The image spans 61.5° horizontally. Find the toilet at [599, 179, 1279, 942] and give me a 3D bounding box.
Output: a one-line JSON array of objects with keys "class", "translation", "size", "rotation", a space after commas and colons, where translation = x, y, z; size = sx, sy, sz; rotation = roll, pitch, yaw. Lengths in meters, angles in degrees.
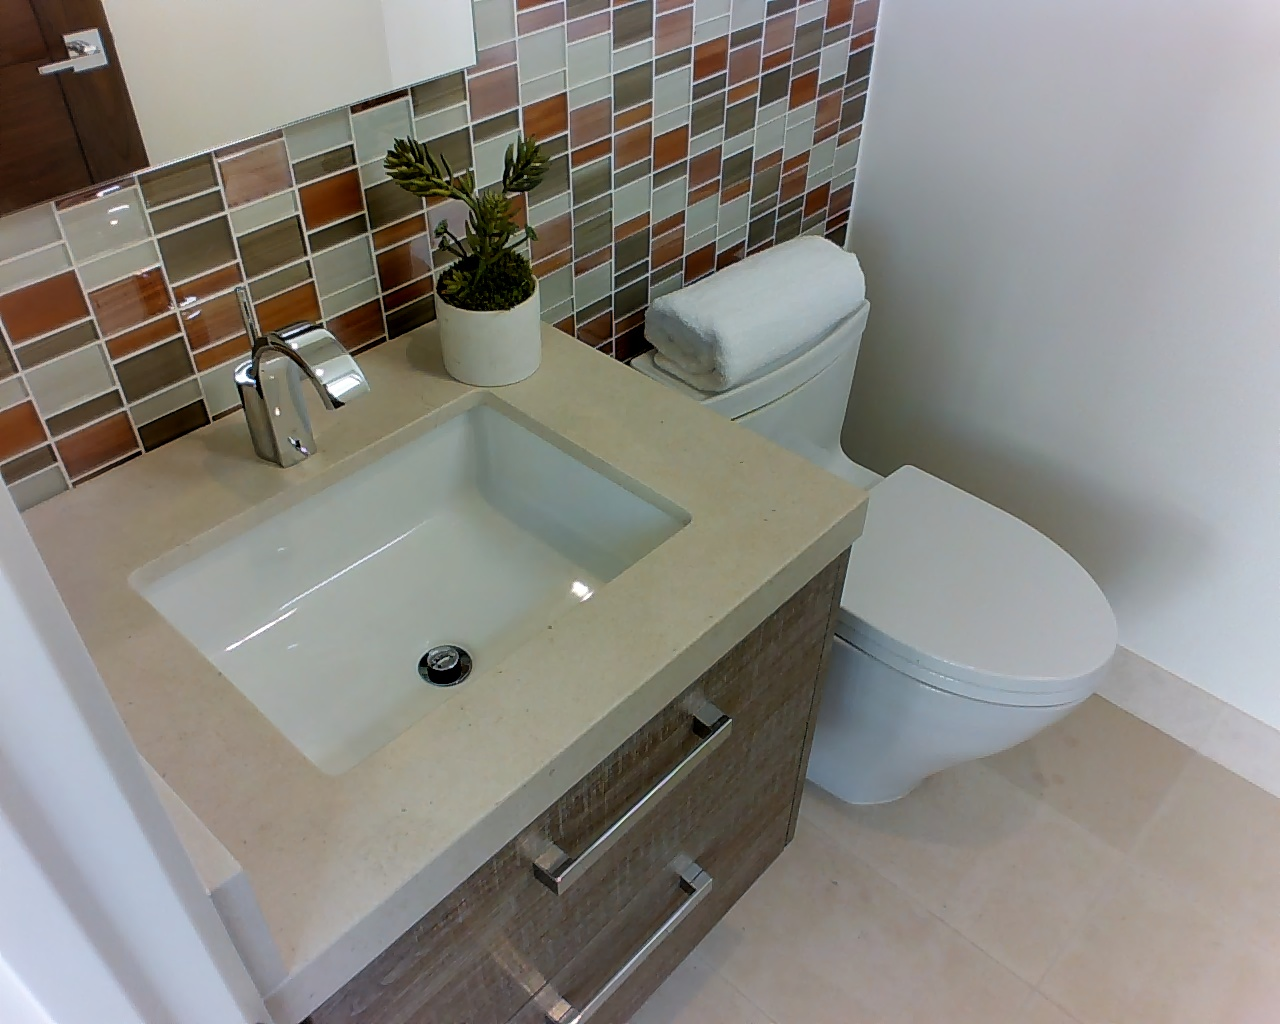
[{"class": "toilet", "translation": [0.380, 0.060, 1.700], "size": [0.760, 0.840, 0.470], "rotation": [32, 50, 31]}]

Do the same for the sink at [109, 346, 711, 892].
[{"class": "sink", "translation": [-0.200, 0.070, 1.050], "size": [0.320, 0.200, 0.440], "rotation": [32, 50, 31]}]
